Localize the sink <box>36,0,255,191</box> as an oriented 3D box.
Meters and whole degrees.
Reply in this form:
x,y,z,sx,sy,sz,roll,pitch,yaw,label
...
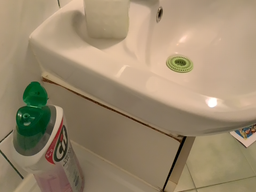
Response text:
x,y,z,sx,sy,sz,roll,pitch,yaw,label
0.150,-0.130,0.460,0.380,0.140,0.510,23,51,17,sink
